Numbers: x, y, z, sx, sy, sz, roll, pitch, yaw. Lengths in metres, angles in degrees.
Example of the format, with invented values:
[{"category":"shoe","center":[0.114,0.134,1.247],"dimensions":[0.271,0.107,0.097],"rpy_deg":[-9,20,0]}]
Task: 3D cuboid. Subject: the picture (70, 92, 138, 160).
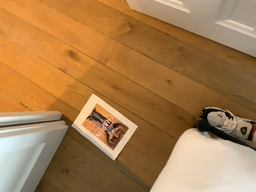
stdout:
[{"category":"picture","center":[-0.130,0.150,1.090],"dimensions":[0.290,0.020,0.220],"rpy_deg":[35,95,13]}]
